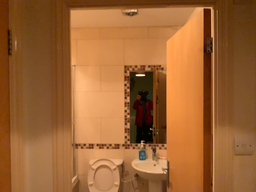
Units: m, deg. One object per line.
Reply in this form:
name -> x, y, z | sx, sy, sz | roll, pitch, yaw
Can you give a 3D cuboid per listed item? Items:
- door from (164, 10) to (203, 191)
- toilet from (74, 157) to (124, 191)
door -> 0.350, 0.580, 1.470 | 0.030, 2.060, 0.730 | 0, 1, -4
toilet -> -0.290, 1.190, 2.400 | 0.440, 0.800, 0.670 | 0, 1, 2
